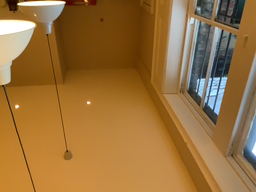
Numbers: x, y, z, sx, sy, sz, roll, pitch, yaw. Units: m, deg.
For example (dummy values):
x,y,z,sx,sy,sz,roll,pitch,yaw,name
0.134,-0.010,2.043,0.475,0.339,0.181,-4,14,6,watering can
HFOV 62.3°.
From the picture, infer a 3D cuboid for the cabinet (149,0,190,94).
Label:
x,y,z,sx,sy,sz,roll,pitch,yaw,name
0.560,-1.140,2.830,0.270,2.220,0.560,-3,-151,-8,cabinet
